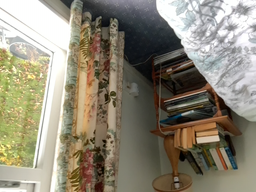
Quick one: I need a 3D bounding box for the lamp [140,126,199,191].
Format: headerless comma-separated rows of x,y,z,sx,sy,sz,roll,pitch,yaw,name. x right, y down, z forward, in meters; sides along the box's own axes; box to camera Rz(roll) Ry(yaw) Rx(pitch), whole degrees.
0.300,0.550,1.470,0.260,0.570,0.370,-15,152,26,lamp

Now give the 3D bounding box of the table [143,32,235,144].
0.480,-0.020,1.700,0.500,0.650,0.500,-15,152,27,table
